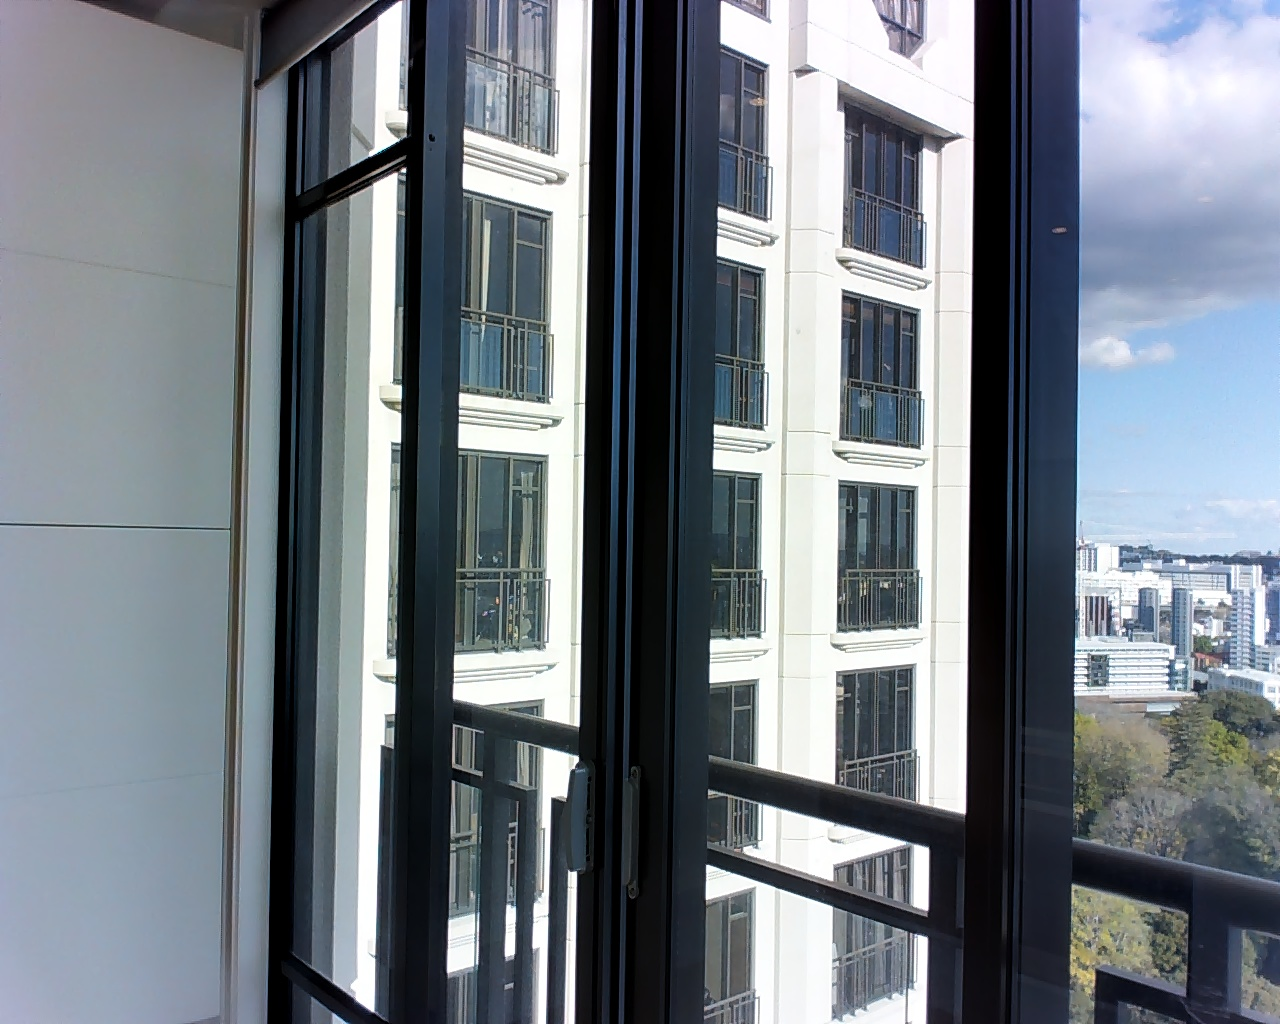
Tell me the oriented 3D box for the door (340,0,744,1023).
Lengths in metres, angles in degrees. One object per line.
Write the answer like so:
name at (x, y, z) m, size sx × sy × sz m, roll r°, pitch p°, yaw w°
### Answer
door at (-0.240, 0.100, 1.860) m, size 0.080 × 2.531 × 1.080 m, roll 1°, pitch -1°, yaw -40°
